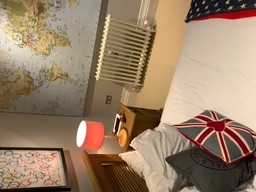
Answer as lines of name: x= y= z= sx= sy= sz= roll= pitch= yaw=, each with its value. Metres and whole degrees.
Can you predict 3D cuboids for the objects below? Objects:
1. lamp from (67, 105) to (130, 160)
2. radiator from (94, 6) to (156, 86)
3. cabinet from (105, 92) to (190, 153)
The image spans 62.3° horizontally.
lamp: x=-0.280 y=0.330 z=1.940 sx=0.310 sy=0.450 sz=0.380 roll=33 pitch=113 yaw=62
radiator: x=-0.040 y=-0.700 z=3.130 sx=0.170 sy=0.720 sz=0.990 roll=33 pitch=113 yaw=62
cabinet: x=0.200 y=0.290 z=2.330 sx=0.440 sy=0.720 sz=0.500 roll=32 pitch=112 yaw=62
